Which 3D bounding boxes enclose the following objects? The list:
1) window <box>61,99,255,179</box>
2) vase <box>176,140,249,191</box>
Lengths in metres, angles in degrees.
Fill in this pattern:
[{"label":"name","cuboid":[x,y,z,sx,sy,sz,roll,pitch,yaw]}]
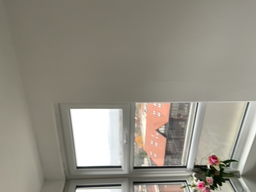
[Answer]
[{"label":"window","cuboid":[0.300,0.400,1.860,0.060,1.640,0.790,-96,6,-63]},{"label":"vase","cuboid":[0.760,0.700,2.010,0.360,0.480,0.420,-97,7,-65]}]
